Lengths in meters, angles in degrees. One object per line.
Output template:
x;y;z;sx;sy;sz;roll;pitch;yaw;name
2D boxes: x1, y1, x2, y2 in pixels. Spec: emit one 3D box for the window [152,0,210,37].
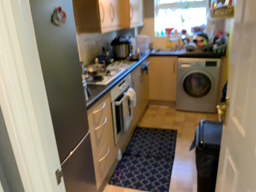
0.890;-1.570;3.630;0.940;1.050;0.120;4;22;18;window
